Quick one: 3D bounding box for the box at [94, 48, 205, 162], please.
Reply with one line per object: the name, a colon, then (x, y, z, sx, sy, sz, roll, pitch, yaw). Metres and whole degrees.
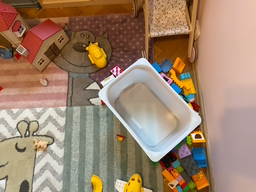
box: (0.100, 0.050, 1.110, 0.330, 0.190, 0.450, -34, 77, -7)
